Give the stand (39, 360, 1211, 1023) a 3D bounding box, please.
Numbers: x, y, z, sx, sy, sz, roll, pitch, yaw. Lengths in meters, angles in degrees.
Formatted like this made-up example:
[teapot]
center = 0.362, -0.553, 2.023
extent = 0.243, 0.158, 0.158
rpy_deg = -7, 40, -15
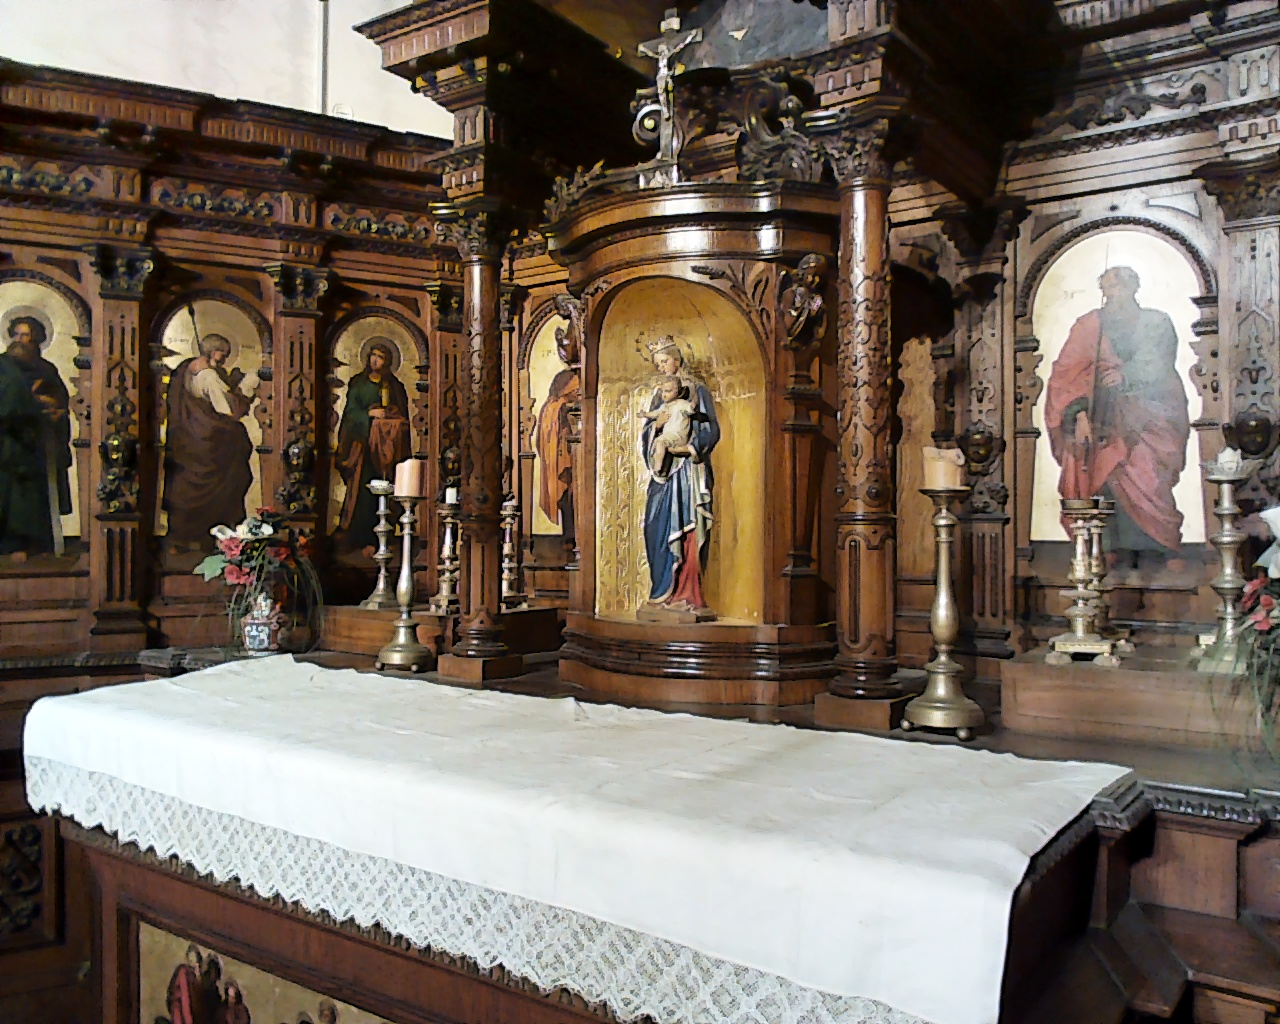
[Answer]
[stand]
center = -0.170, 0.640, 1.850
extent = 1.940, 1.550, 0.780
rpy_deg = 0, 0, 37
